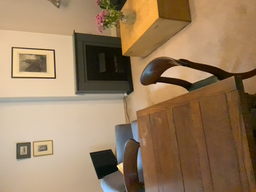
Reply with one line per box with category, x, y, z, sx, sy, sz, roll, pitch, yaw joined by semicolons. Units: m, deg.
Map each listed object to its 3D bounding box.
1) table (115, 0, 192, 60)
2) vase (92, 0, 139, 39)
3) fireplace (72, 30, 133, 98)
table;0.240;-1.000;2.750;1.180;0.410;0.680;154;113;-66
vase;-0.170;-1.010;2.670;0.440;0.450;0.390;157;110;-66
fireplace;-0.470;-0.570;3.880;0.210;1.020;1.160;153;114;-65
